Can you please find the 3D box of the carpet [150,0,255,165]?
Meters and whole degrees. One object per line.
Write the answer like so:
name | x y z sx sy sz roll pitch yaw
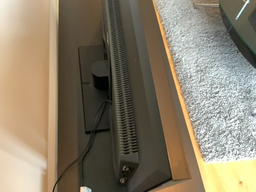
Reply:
carpet | 0.870 -0.460 1.650 1.230 0.070 1.760 -6 64 -7
